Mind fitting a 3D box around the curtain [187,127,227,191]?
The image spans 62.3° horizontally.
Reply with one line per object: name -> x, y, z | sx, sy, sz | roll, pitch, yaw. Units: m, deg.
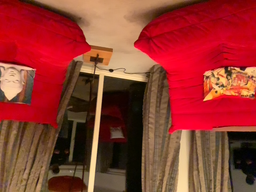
curtain -> 0.920, 0.960, 2.440 | 0.380, 1.160, 0.290 | -5, 165, 27

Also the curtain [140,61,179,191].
curtain -> 0.380, 0.550, 2.610 | 0.410, 1.920, 0.380 | 2, 166, 4

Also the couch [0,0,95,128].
couch -> -0.980, -0.220, 1.860 | 0.980, 0.860, 1.130 | 10, 165, -26
